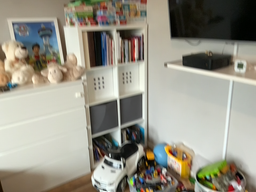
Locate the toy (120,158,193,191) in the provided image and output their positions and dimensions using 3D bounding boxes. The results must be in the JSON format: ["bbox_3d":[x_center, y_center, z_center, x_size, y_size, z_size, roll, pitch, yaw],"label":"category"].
[{"bbox_3d":[0.240,0.820,1.910,0.440,0.160,0.480,-14,22,-31],"label":"toy"}]

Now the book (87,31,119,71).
[{"bbox_3d":[-0.240,-0.450,2.080,0.260,0.350,0.140,-14,23,-32],"label":"book"}]

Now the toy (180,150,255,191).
[{"bbox_3d":[0.790,0.820,1.490,0.370,0.460,0.790,-13,22,-30],"label":"toy"}]

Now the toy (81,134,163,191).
[{"bbox_3d":[-0.060,0.690,2.170,0.670,0.250,0.480,-14,22,-31],"label":"toy"}]

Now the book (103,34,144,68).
[{"bbox_3d":[-0.050,-0.510,2.350,0.310,0.310,0.340,-13,22,-30],"label":"book"}]

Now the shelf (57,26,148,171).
[{"bbox_3d":[-0.240,-0.030,2.430,0.780,1.440,0.520,-15,23,-34],"label":"shelf"}]
